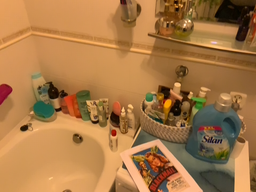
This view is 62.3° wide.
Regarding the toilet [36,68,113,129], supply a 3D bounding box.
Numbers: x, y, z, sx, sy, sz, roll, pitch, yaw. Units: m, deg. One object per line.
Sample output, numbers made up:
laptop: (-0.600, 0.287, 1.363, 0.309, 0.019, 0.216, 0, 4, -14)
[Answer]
toilet: (-0.320, 0.010, 1.320, 0.440, 0.270, 0.120, 13, 38, 15)
